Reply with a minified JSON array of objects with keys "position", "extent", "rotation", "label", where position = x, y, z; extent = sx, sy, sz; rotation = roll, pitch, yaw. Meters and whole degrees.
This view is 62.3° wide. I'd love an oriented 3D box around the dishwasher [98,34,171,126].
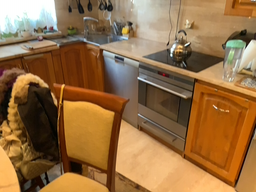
[{"position":[0.070,-0.230,2.590],"extent":[0.580,0.850,0.590],"rotation":[-24,36,-38],"label":"dishwasher"}]
